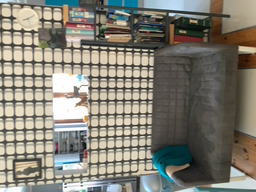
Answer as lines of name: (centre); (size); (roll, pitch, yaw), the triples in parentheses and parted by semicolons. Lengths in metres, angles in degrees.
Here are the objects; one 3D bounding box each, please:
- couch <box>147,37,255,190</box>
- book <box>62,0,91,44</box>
couch: (0.670, 0.120, 2.120); (0.750, 0.700, 1.230); (-155, 65, -74)
book: (-0.490, -0.700, 2.010); (0.210, 0.250, 0.360); (-164, 75, -75)
